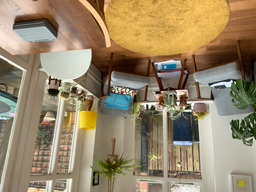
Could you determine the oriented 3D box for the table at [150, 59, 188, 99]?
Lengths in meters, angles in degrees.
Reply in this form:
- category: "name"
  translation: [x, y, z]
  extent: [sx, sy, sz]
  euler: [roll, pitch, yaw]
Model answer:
- category: "table"
  translation: [0.660, -0.250, 3.350]
  extent: [0.540, 0.460, 0.470]
  euler: [-2, 162, 15]
